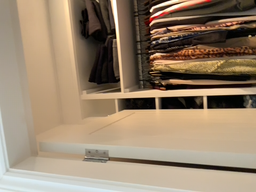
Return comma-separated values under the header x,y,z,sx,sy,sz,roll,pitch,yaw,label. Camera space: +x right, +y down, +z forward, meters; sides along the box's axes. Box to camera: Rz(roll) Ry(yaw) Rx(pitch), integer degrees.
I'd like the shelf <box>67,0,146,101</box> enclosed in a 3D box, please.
x,y,z,sx,sy,sz,roll,pitch,yaw,label
-0.210,-1.180,1.610,0.490,0.390,2.380,-26,-68,-67,shelf
